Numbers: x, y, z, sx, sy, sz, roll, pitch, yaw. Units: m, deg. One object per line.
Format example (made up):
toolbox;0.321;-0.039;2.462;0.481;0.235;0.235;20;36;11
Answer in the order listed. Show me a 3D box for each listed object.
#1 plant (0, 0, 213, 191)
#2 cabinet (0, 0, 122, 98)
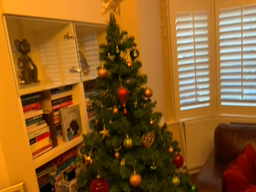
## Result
plant;-0.040;0.390;1.240;0.970;1.800;0.670;-1;12;24
cabinet;-0.540;-0.530;1.570;0.440;0.870;1.040;1;13;30
